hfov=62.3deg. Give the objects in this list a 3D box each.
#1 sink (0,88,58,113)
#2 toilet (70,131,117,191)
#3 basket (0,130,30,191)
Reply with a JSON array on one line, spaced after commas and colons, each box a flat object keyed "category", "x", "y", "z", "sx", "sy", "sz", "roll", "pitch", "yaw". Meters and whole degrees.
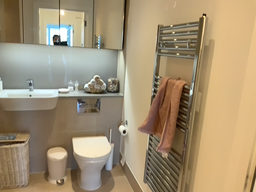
[{"category": "sink", "x": -1.020, "y": 0.030, "z": 2.230, "sx": 0.530, "sy": 0.150, "sz": 0.430, "roll": -1, "pitch": 13, "yaw": -20}, {"category": "toilet", "x": -0.390, "y": 0.690, "z": 2.240, "sx": 0.400, "sy": 0.430, "sz": 0.540, "roll": 0, "pitch": 13, "yaw": -19}, {"category": "basket", "x": -1.150, "y": 0.630, "z": 2.060, "sx": 0.320, "sy": 0.530, "sz": 0.210, "roll": 0, "pitch": 13, "yaw": -18}]
